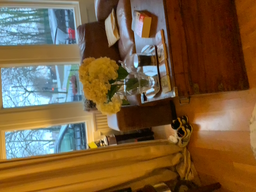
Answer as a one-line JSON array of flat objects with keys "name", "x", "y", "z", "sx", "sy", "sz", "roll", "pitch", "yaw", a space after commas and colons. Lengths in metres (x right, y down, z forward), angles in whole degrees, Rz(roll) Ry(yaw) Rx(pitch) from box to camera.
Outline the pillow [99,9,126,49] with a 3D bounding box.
[{"name": "pillow", "x": -0.190, "y": -0.760, "z": 2.460, "sx": 0.360, "sy": 0.110, "sz": 0.340, "roll": 69, "pitch": 164, "yaw": -10}]

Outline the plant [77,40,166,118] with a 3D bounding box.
[{"name": "plant", "x": -0.060, "y": -0.090, "z": 1.300, "sx": 0.330, "sy": 0.430, "sz": 0.400, "roll": 160, "pitch": 104, "yaw": -71}]

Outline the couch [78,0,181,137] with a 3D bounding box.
[{"name": "couch", "x": -0.080, "y": -0.410, "z": 2.420, "sx": 0.910, "sy": 0.740, "sz": 1.610, "roll": 153, "pitch": 111, "yaw": -70}]
